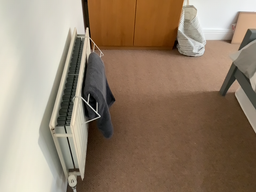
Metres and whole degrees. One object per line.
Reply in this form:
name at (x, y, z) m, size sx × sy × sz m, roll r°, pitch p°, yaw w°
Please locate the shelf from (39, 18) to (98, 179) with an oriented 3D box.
shelf at (-0.340, -0.040, 1.490) m, size 0.120 × 0.590 × 1.010 m, roll 2°, pitch 44°, yaw -2°
